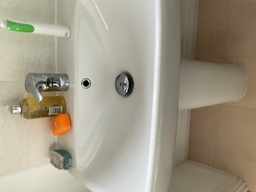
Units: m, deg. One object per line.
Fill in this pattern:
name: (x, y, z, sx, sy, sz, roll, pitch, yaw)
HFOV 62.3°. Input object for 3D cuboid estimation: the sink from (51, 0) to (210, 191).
sink: (-0.040, -0.020, 0.560, 0.430, 0.140, 0.560, 8, 99, 45)
